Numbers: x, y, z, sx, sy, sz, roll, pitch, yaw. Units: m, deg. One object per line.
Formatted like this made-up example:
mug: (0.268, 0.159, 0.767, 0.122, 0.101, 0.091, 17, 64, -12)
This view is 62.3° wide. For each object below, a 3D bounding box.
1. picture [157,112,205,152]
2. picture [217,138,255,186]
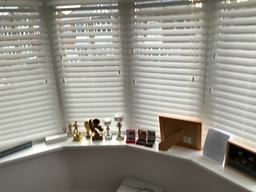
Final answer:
picture: (0.400, 0.270, 1.630, 0.330, 0.230, 0.070, 11, 22, 24)
picture: (0.690, 0.410, 1.330, 0.040, 0.190, 0.220, -6, 28, -29)
